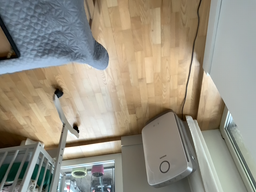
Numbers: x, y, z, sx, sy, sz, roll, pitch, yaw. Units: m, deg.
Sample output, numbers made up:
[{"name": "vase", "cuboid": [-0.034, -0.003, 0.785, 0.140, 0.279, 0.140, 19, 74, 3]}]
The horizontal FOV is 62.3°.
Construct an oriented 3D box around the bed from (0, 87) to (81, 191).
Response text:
[{"name": "bed", "cuboid": [-1.020, 0.500, 1.560, 1.140, 0.880, 0.520, -8, 134, 2]}]
